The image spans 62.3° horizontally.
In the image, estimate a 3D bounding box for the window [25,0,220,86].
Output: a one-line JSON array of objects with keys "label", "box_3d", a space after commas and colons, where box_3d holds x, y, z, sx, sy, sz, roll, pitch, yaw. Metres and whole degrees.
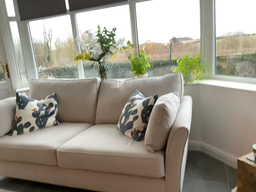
[{"label": "window", "box_3d": [-0.210, -0.630, 2.740, 2.570, 0.930, 0.070, -1, 14, 19]}]

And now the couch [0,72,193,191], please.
[{"label": "couch", "box_3d": [-0.430, 0.310, 2.170, 2.050, 0.870, 1.060, -1, 14, 19]}]
